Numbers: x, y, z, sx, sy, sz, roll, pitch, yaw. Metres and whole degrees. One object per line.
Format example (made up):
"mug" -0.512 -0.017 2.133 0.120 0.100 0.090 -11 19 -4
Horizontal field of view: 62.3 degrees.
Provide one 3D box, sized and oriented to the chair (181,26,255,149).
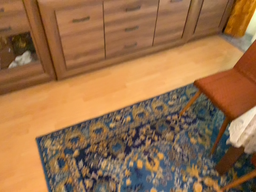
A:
"chair" 0.870 -0.060 1.660 0.600 0.790 0.410 -18 51 -19
